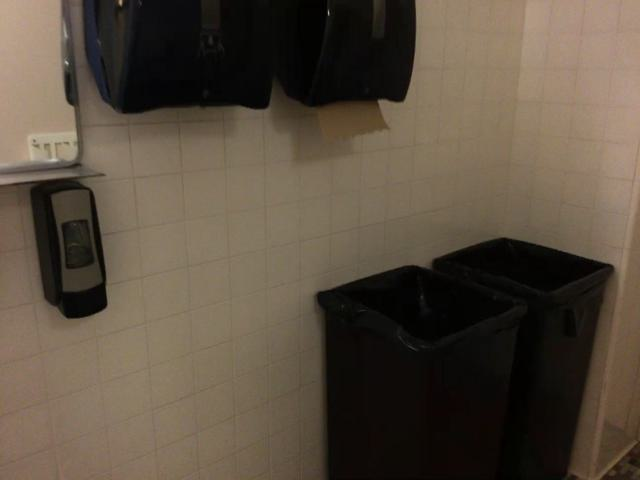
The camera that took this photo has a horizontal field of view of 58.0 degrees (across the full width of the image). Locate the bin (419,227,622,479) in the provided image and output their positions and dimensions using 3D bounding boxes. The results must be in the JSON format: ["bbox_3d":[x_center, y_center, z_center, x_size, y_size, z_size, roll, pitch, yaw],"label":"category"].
[{"bbox_3d":[0.650,0.430,1.940,0.430,0.830,0.410,-13,20,-38],"label":"bin"}]

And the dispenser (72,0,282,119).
[{"bbox_3d":[-0.260,-0.410,1.070,0.320,0.340,0.190,-13,20,-38],"label":"dispenser"}]

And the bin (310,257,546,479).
[{"bbox_3d":[0.290,0.530,1.670,0.460,0.810,0.430,-13,20,-38],"label":"bin"}]

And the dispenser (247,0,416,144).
[{"bbox_3d":[0.030,-0.450,1.320,0.330,0.420,0.200,-13,20,-38],"label":"dispenser"}]

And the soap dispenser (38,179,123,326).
[{"bbox_3d":[-0.450,0.020,1.090,0.100,0.250,0.090,-13,20,-38],"label":"soap dispenser"}]
